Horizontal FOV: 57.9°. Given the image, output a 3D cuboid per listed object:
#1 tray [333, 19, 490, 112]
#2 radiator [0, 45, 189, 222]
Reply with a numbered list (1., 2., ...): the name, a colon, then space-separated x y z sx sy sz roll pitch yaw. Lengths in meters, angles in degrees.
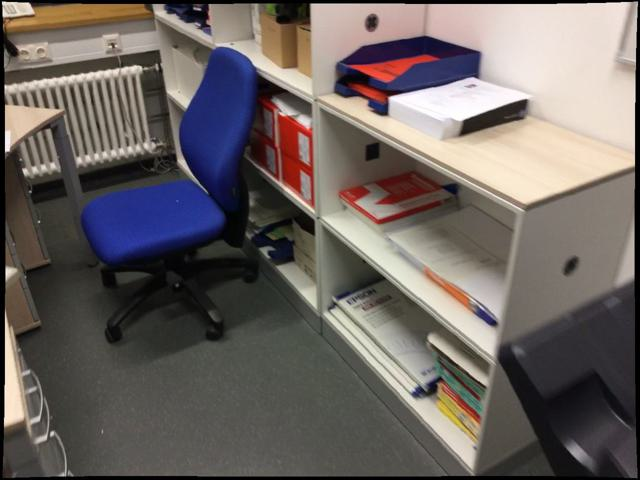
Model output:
1. tray: 0.260 -0.521 1.690 0.360 0.150 0.260 -19 38 -27
2. radiator: -1.369 -0.531 2.950 1.299 0.670 0.250 -19 38 -27
